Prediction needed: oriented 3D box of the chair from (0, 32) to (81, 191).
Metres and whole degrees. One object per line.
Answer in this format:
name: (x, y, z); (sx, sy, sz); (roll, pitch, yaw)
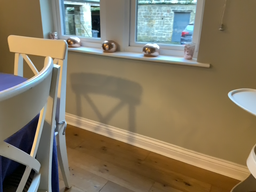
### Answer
chair: (-0.600, 0.150, 1.150); (0.430, 0.910, 0.470); (11, 23, 24)
